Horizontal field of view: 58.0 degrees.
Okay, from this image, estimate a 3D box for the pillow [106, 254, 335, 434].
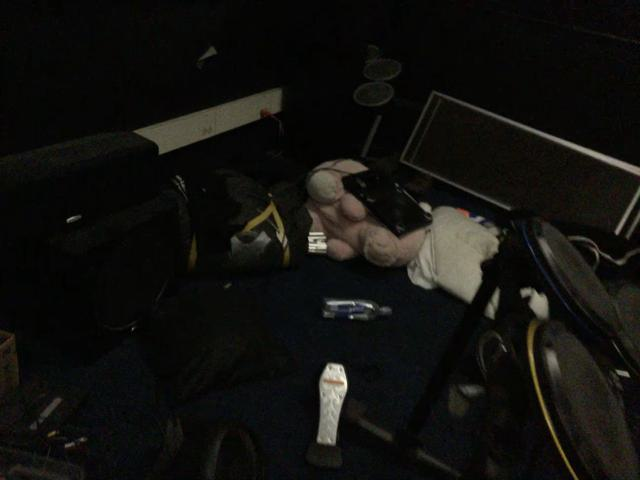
[{"bbox_3d":[-0.300,0.290,1.830,0.500,0.150,0.500,22,30,23],"label":"pillow"}]
